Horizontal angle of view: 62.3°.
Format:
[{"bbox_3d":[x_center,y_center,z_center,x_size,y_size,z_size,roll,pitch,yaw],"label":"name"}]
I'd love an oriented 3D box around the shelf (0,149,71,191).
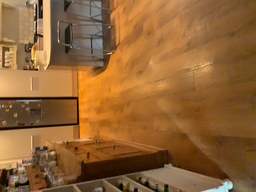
[{"bbox_3d":[-1.310,0.870,2.230,1.620,1.040,0.270,-9,82,62],"label":"shelf"}]
